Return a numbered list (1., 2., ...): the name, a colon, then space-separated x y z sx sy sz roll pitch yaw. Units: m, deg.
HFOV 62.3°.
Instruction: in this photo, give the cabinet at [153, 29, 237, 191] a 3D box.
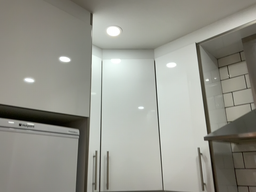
1. cabinet: 0.440 0.130 1.480 0.350 1.060 0.310 -17 -23 40
